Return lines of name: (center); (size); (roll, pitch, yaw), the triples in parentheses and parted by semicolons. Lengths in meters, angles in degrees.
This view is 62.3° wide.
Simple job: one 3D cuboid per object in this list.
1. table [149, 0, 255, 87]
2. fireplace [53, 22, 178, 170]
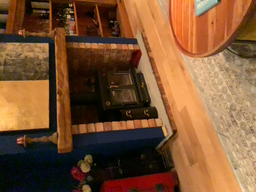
table: (0.560, -0.880, 1.470); (0.880, 0.410, 1.380); (109, 152, -50)
fireplace: (-0.330, -0.040, 2.970); (0.930, 1.270, 1.710); (114, 148, -55)
